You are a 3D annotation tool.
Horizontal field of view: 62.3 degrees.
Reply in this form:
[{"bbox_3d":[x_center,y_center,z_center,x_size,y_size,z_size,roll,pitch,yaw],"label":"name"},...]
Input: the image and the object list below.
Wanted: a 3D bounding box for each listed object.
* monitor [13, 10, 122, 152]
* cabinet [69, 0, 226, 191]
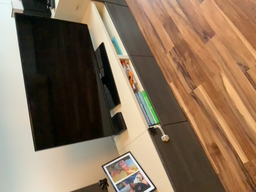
[{"bbox_3d":[-0.420,-0.140,1.490,0.080,0.570,0.930,-34,67,49],"label":"monitor"},{"bbox_3d":[0.030,0.070,1.730,0.570,0.400,1.830,-46,58,45],"label":"cabinet"}]
